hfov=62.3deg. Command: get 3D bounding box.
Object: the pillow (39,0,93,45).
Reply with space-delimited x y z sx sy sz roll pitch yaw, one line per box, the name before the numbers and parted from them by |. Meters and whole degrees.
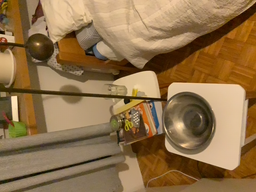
pillow | -0.350 -0.510 1.160 0.320 0.140 0.310 -23 66 43
